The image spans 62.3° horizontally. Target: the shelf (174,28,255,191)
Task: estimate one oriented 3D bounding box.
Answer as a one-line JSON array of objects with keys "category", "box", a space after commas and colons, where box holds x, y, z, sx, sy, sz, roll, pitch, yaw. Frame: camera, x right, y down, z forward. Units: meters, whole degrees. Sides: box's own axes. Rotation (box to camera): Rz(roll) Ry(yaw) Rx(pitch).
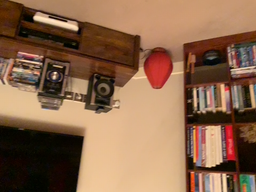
[{"category": "shelf", "box": [1.070, 0.380, 1.620, 1.330, 1.870, 0.380, -5, 159, 24]}]
